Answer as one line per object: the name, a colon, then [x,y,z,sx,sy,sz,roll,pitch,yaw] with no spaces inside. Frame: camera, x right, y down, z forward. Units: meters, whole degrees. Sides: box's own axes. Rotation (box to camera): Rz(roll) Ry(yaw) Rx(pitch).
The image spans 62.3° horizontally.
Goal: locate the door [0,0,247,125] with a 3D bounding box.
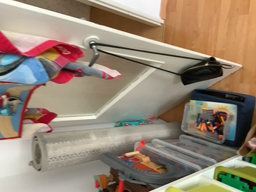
door: [-0.270,-0.050,0.940,0.760,2.210,0.050,-38,61,41]
